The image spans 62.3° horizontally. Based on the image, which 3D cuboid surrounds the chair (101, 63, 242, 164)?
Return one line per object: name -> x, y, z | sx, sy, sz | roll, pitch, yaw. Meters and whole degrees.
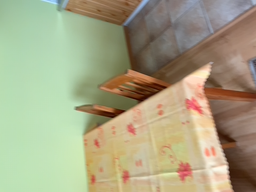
chair -> 0.300, 0.130, 1.430 | 0.390, 0.850, 0.500 | -20, 71, 55
